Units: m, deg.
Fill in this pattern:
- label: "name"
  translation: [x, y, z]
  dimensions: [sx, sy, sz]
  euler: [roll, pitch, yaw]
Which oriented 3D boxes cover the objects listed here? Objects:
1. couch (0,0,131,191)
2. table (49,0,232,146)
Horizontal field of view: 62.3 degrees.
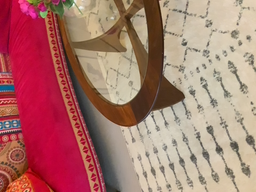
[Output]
- label: "couch"
  translation: [-0.880, 0.000, 1.780]
  dimensions: [1.030, 0.770, 2.470]
  euler: [-33, 68, 40]
- label: "table"
  translation: [-0.040, -0.410, 1.170]
  dimensions: [0.580, 0.440, 1.160]
  euler: [-33, 68, 40]
